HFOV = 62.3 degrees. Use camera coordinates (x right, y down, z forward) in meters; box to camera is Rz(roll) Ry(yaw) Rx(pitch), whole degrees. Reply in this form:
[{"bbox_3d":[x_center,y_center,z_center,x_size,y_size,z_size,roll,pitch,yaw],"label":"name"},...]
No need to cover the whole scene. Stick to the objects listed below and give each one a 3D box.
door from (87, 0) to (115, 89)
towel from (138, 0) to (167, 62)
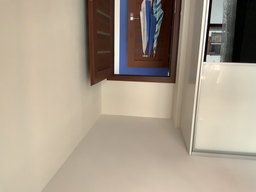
[{"bbox_3d":[-0.290,-1.250,2.470,0.130,2.210,0.890,3,-167,5],"label":"door"},{"bbox_3d":[0.460,-1.330,4.100,0.480,1.320,0.210,1,-167,-3],"label":"towel"}]
